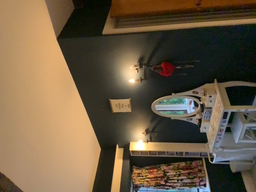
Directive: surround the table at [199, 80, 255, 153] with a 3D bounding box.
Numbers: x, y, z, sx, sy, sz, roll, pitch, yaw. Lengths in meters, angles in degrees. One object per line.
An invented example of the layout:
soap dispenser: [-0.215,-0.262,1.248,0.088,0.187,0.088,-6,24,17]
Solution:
table: [1.470,0.320,2.950,1.000,0.730,0.490,81,-169,-45]
